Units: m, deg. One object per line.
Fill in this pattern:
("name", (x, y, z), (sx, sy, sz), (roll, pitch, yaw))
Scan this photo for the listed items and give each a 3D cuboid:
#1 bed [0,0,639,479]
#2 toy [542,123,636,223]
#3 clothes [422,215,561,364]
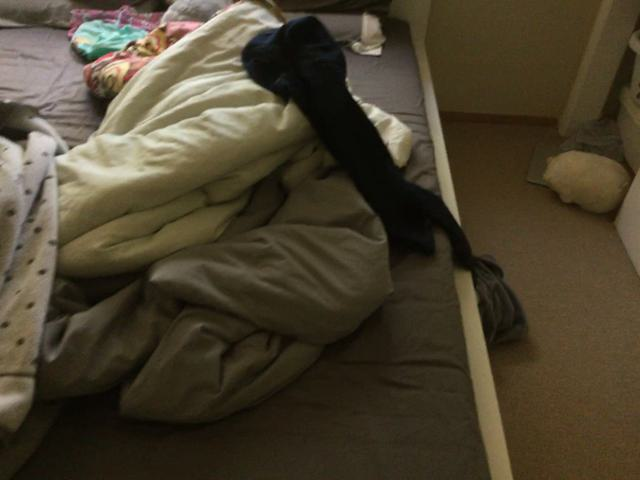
("bed", (-0.440, -0.280, 1.470), (1.810, 1.050, 2.140), (4, 41, 0))
("toy", (0.940, -0.240, 2.020), (0.230, 0.190, 0.260), (19, 43, 17))
("clothes", (0.470, 0.130, 1.670), (0.290, 0.160, 0.420), (4, 41, 0))
